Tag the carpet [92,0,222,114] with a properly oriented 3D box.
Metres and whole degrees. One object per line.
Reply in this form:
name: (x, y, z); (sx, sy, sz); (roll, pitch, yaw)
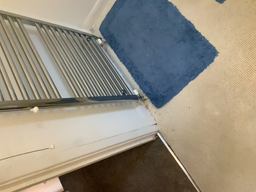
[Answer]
carpet: (0.110, -0.370, 1.390); (0.520, 0.040, 0.830); (-49, 64, 28)
